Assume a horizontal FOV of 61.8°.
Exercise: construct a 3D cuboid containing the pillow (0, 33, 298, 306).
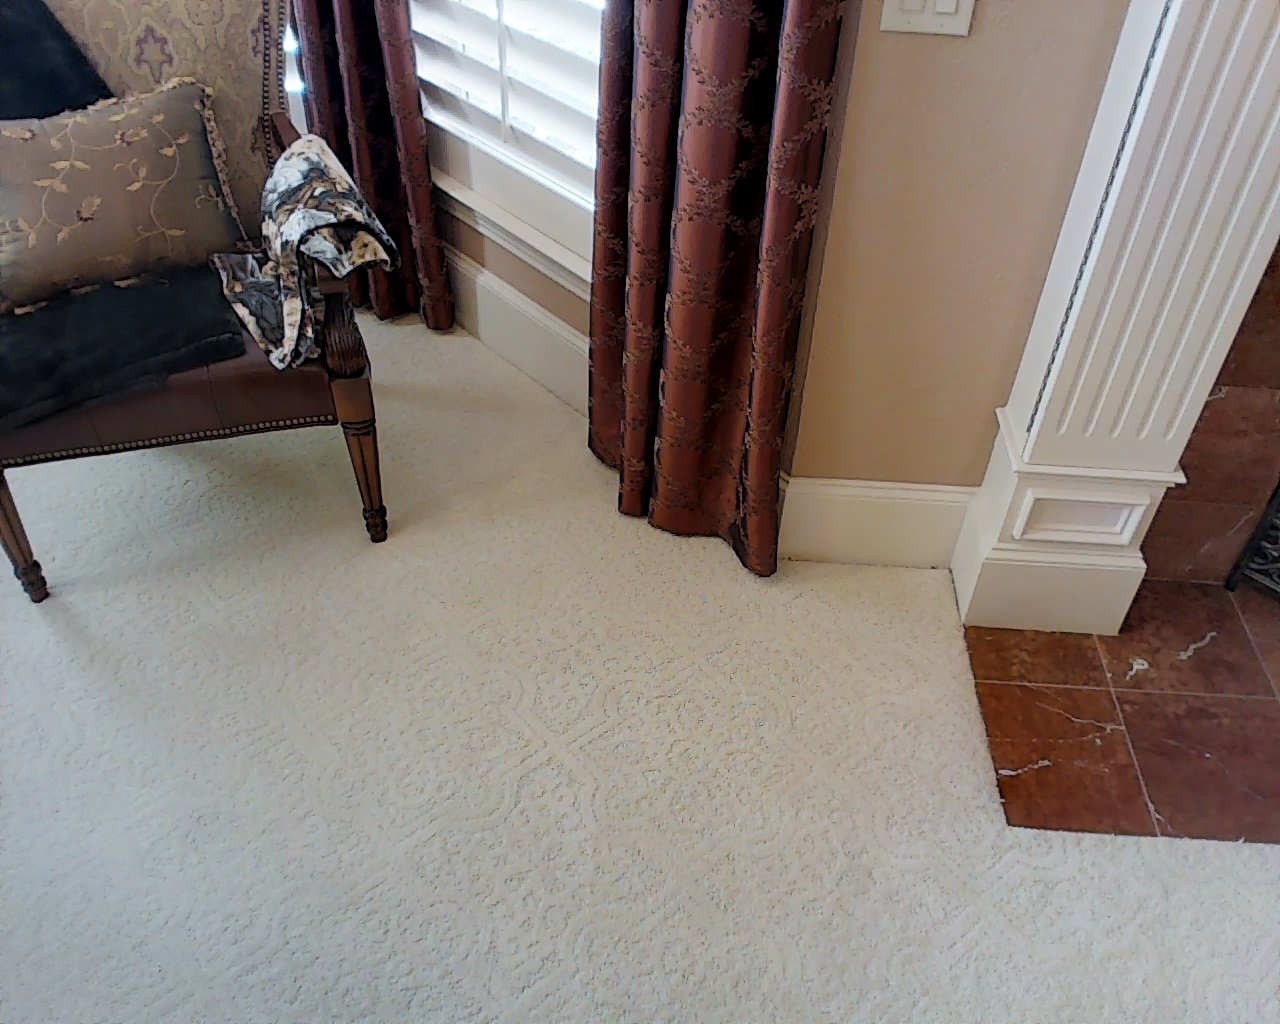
[{"bbox_3d":[-0.960,-0.620,1.960,0.590,0.340,0.150,7,-9,-26],"label":"pillow"}]
